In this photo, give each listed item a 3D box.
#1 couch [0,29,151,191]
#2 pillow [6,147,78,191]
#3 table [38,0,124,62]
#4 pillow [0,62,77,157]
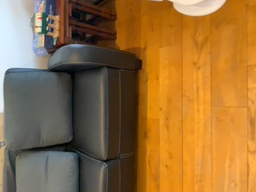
[{"bbox_3d":[-0.440,0.440,1.600,0.850,0.830,1.510,1,90,50],"label":"couch"},{"bbox_3d":[-0.610,0.670,1.510,0.130,0.460,0.560,-1,-88,-85],"label":"pillow"},{"bbox_3d":[-0.410,-0.620,1.830,0.520,0.530,0.520,1,90,50],"label":"table"},{"bbox_3d":[-0.640,0.090,1.530,0.200,0.520,0.620,180,92,-76],"label":"pillow"}]
